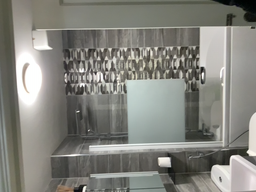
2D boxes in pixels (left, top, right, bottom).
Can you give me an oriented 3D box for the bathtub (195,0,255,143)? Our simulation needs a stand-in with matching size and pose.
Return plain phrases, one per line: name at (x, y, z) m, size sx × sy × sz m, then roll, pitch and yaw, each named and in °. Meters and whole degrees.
bathtub at (1.190, -0.340, 2.520) m, size 0.670 × 0.550 × 1.610 m, roll -117°, pitch 26°, yaw -83°
